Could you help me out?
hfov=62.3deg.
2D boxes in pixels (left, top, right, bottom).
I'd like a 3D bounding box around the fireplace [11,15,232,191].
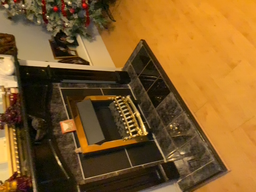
[{"bbox_3d":[-0.160,0.160,1.680,0.610,1.190,1.410,-54,49,40],"label":"fireplace"}]
